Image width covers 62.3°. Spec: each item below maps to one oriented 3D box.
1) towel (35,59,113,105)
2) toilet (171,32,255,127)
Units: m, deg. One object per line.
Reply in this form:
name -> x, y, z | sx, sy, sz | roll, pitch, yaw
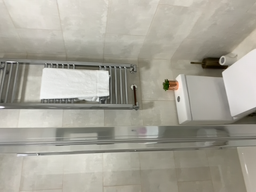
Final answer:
towel -> -0.380, -0.100, 1.560 | 0.130, 0.520, 0.300 | 113, 155, -65
toilet -> 0.810, -0.070, 1.540 | 0.600, 0.770, 0.430 | 114, 155, -65
